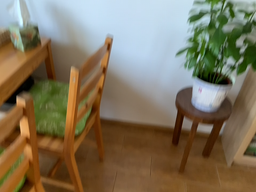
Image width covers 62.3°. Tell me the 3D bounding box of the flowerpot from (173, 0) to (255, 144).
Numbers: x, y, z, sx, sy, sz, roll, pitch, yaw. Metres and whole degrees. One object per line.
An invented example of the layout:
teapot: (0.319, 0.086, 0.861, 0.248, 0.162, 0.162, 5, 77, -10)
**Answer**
flowerpot: (0.490, -0.170, 1.070, 0.370, 0.620, 0.480, 5, 36, 2)
